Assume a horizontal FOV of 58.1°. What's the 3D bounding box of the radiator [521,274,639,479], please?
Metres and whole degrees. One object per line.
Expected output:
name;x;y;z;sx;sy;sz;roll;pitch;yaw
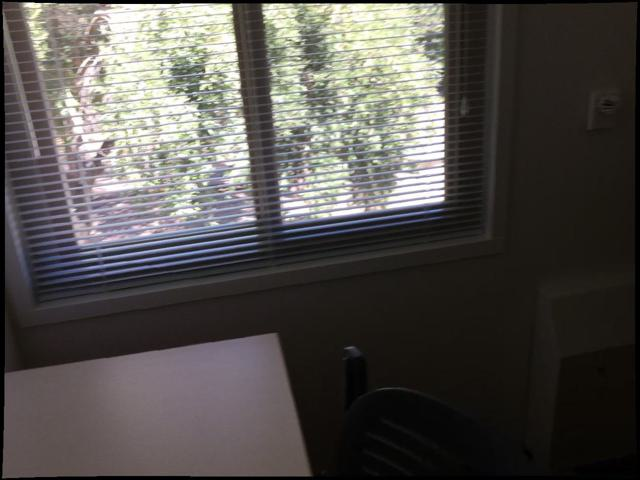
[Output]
radiator;0.908;0.431;1.710;0.549;0.641;0.160;-8;22;-7

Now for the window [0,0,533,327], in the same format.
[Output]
window;-0.130;-0.241;1.430;1.257;0.692;0.220;-8;22;-7
